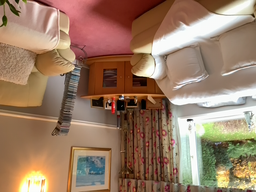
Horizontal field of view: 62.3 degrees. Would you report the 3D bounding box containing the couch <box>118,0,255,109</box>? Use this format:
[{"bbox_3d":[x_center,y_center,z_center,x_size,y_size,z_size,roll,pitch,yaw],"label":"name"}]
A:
[{"bbox_3d":[0.810,-0.520,2.150,0.990,0.930,1.660,13,160,-39],"label":"couch"}]
